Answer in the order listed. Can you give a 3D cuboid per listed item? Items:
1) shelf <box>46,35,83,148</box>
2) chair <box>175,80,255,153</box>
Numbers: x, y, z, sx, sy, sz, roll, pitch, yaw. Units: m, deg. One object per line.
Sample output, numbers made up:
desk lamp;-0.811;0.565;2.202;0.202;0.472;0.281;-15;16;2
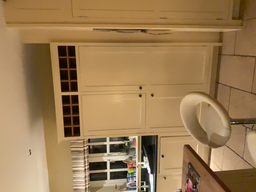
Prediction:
shelf;-0.900;-0.100;3.160;0.750;0.330;1.520;-118;28;-74
chair;0.980;0.200;2.000;0.520;0.860;0.490;102;165;-61
